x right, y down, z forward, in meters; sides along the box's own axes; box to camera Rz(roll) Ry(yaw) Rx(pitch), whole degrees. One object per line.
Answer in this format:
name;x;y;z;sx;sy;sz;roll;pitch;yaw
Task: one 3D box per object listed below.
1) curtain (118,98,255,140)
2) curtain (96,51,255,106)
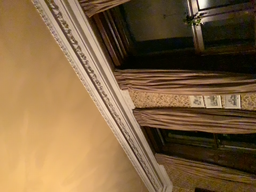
curtain;1.360;0.350;3.470;0.480;3.310;0.310;-61;-41;-36
curtain;1.060;-0.230;2.990;0.470;3.350;0.490;60;-136;-40
